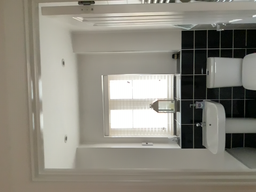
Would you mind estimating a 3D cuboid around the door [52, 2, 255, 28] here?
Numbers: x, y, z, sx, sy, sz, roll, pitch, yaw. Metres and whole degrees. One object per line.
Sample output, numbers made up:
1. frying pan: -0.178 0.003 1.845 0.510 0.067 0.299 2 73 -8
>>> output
1. door: 0.630 -0.460 1.230 0.630 1.920 0.070 -84 -7 -74
